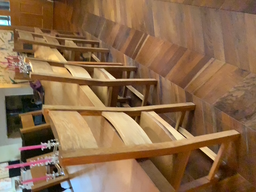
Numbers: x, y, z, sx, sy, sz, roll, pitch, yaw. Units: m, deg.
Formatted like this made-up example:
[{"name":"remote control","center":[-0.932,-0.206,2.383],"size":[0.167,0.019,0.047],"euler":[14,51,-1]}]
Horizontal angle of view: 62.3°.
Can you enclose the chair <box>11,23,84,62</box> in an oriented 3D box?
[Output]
[{"name":"chair","center":[-1.380,-0.910,3.650],"size":[0.500,1.070,0.460],"euler":[45,130,49]}]
